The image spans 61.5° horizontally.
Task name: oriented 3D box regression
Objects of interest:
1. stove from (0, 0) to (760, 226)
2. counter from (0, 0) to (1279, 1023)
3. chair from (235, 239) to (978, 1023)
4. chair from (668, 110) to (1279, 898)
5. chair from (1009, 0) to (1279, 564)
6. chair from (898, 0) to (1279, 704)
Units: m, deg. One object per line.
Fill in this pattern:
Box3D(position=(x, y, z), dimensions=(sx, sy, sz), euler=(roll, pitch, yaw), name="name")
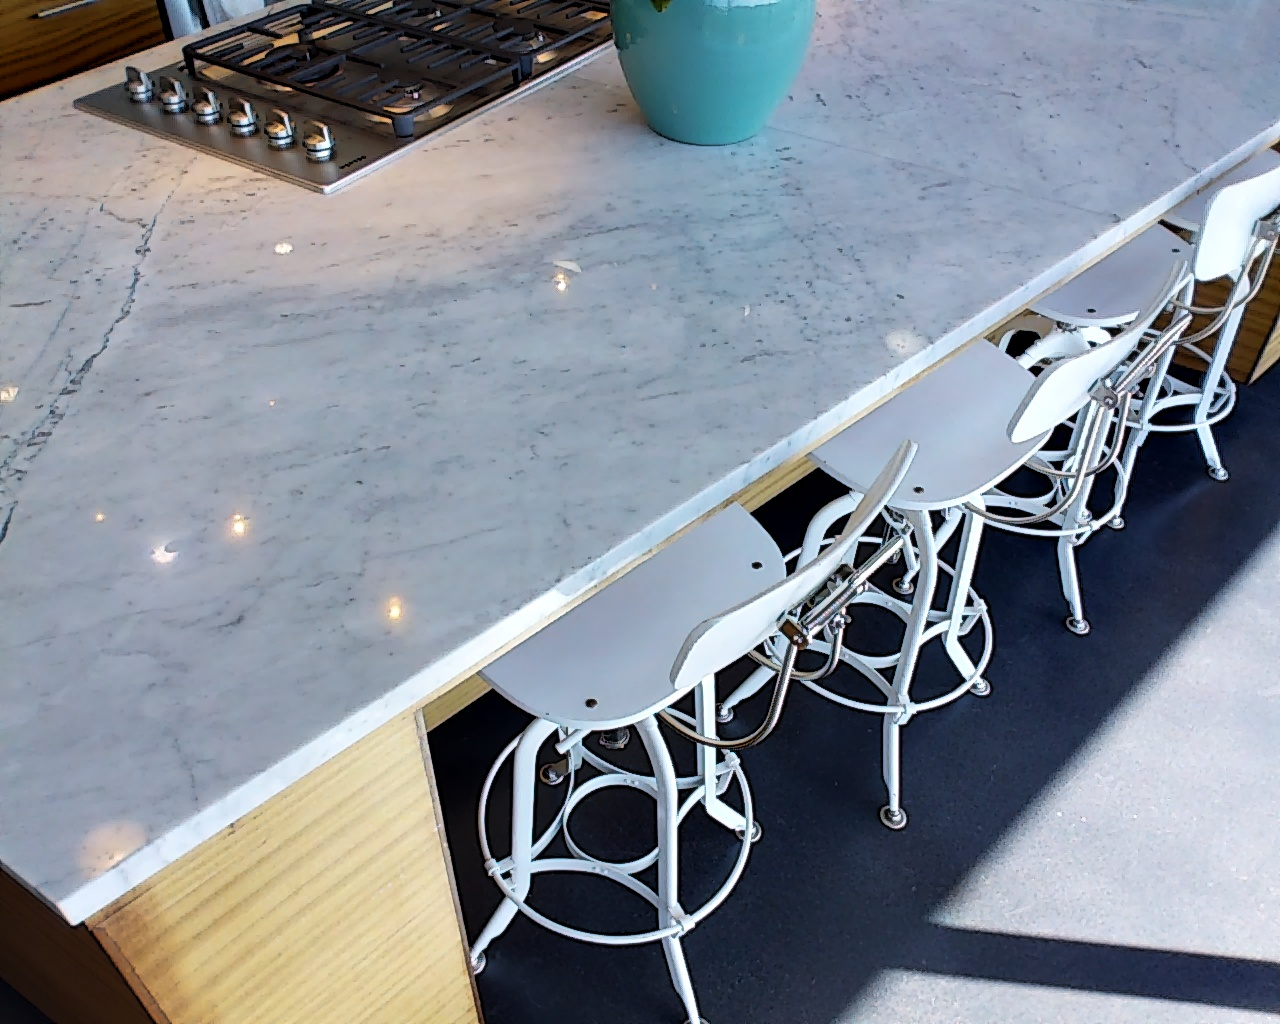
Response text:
Box3D(position=(-0.370, -0.860, 1.890), dimensions=(0.780, 0.060, 1.140), euler=(23, 47, 22), name="stove")
Box3D(position=(0.120, -0.640, 1.670), dimensions=(2.000, 0.060, 2.810), euler=(23, 47, 22), name="counter")
Box3D(position=(-0.030, 0.250, 1.400), dimensions=(0.510, 0.930, 0.550), euler=(32, 51, 30), name="chair")
Box3D(position=(0.440, 0.000, 1.660), dimensions=(0.500, 0.940, 0.590), euler=(-32, 52, -31), name="chair")
Box3D(position=(1.280, -0.530, 2.250), dimensions=(0.520, 0.900, 0.740), euler=(28, 49, 27), name="chair")
Box3D(position=(0.960, -0.310, 1.960), dimensions=(0.470, 0.990, 0.760), euler=(31, 51, 29), name="chair")
